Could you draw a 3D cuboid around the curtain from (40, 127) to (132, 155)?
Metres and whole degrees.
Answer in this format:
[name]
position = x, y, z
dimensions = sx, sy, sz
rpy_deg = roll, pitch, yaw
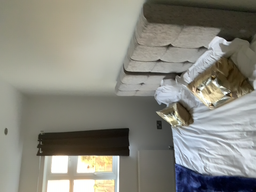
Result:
[curtain]
position = -0.640, 0.720, 3.390
dimensions = 0.220, 1.380, 0.400
rpy_deg = 120, 150, -71
